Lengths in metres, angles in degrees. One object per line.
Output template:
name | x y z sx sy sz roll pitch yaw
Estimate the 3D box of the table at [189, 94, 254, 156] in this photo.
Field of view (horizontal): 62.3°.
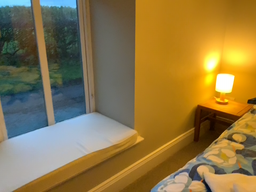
table | 1.060 0.300 2.430 0.480 0.450 0.470 -17 26 -41
